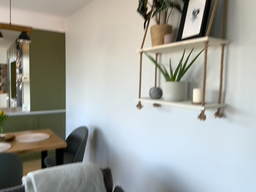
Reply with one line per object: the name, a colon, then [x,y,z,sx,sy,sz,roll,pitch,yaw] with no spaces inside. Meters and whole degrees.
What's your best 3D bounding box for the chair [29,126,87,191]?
chair: [-0.920,0.870,2.750,0.590,0.810,0.500,-2,6,-34]
